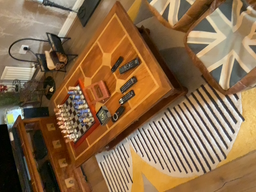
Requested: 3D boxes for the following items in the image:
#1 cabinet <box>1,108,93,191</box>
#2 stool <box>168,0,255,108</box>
[{"bbox_3d":[-1.090,0.850,2.750,0.700,0.630,1.140,-42,64,36],"label":"cabinet"},{"bbox_3d":[0.660,-0.310,1.240,0.510,0.410,0.530,-47,61,34],"label":"stool"}]
